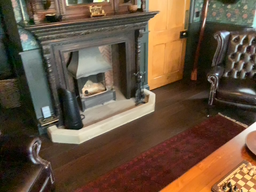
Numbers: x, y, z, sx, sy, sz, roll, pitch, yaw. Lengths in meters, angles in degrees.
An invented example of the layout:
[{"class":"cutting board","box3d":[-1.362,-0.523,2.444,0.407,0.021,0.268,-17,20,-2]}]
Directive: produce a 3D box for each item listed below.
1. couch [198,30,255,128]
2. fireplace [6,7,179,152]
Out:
[{"class":"couch","box3d":[1.470,-0.280,2.810,0.740,0.980,0.830,13,30,27]},{"class":"fireplace","box3d":[-0.390,-0.420,2.870,1.780,1.300,1.110,-20,32,-31]}]
